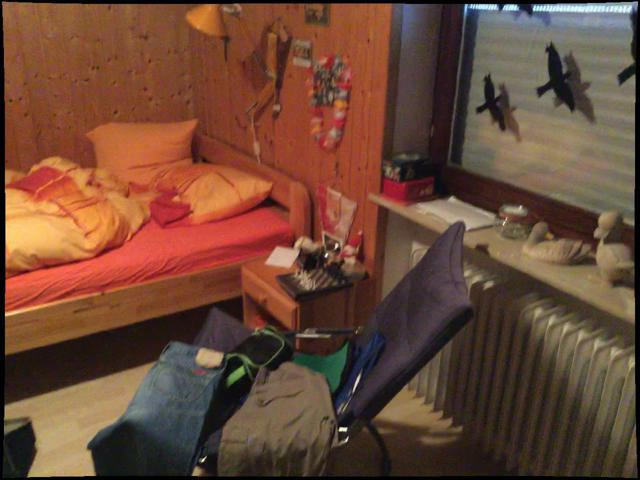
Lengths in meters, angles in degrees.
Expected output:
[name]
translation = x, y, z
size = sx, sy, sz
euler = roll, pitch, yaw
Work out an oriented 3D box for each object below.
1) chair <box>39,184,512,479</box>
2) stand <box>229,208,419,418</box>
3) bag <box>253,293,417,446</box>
[chair]
translation = -0.060, 0.410, 1.740
size = 1.029, 0.891, 0.770
euler = 5, 24, 10
[stand]
translation = 0.000, 0.270, 2.470
size = 0.570, 0.580, 0.550
euler = -13, 27, -29
[bag]
translation = 0.030, 0.390, 1.870
size = 0.310, 0.180, 0.480
euler = -13, 27, -29
